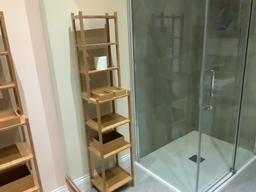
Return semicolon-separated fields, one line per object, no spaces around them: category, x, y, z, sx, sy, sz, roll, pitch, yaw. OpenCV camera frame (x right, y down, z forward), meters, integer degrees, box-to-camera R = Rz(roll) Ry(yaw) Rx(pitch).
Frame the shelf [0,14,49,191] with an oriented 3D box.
shelf;-0.830;0.310;1.410;0.380;1.580;0.290;-16;22;-35
